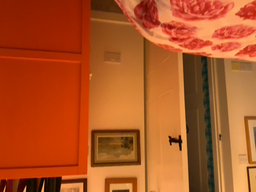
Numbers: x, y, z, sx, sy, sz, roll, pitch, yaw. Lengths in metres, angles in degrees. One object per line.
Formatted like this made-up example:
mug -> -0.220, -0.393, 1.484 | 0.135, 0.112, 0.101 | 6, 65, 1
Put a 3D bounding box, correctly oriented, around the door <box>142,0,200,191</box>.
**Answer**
door -> 0.260, 0.110, 1.570 | 0.130, 1.890, 0.780 | 2, 171, -9
